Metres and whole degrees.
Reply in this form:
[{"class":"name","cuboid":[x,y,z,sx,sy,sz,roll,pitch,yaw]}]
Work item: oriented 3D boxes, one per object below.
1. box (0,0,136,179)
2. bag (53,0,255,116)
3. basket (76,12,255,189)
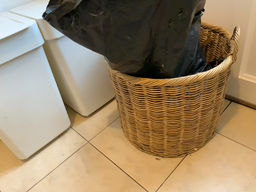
[{"class":"box","cuboid":[-0.390,-0.140,1.020,0.380,0.580,0.760,27,52,37]},{"class":"bag","cuboid":[0.100,-0.310,0.620,0.490,0.400,0.410,-36,45,-28]},{"class":"basket","cuboid":[0.180,-0.040,0.930,0.550,0.410,0.450,-36,45,-28]}]
